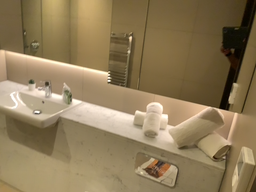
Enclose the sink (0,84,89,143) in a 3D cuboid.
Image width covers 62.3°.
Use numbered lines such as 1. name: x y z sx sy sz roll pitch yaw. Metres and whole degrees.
1. sink: -0.690 0.100 1.660 0.580 0.170 0.470 14 21 20
